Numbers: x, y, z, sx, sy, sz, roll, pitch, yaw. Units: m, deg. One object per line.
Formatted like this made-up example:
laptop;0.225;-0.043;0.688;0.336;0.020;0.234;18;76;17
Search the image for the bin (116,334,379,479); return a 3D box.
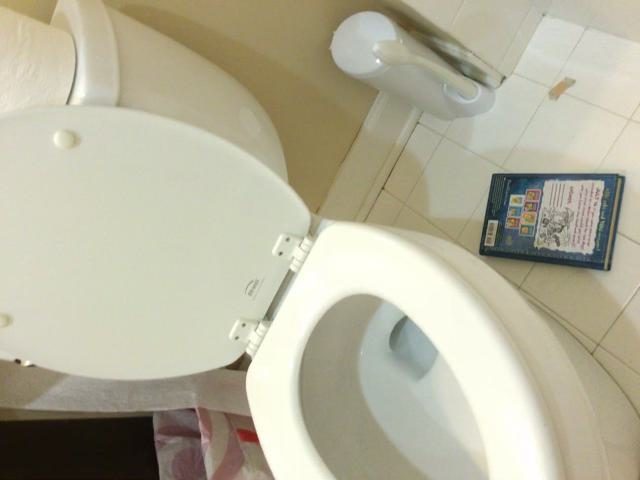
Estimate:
bin;-0.150;0.390;1.110;0.320;0.230;0.350;14;21;-42
